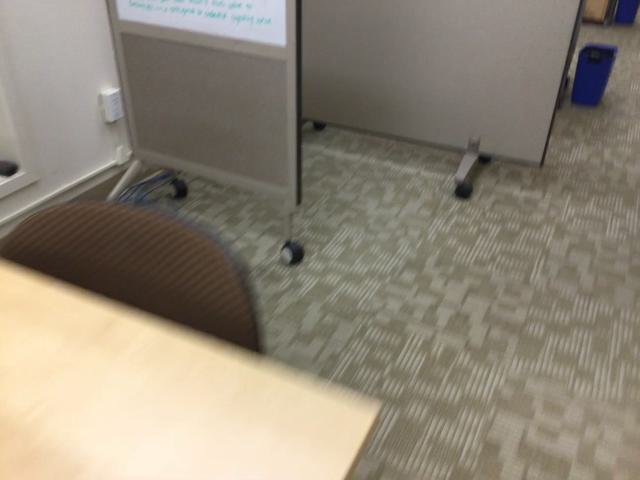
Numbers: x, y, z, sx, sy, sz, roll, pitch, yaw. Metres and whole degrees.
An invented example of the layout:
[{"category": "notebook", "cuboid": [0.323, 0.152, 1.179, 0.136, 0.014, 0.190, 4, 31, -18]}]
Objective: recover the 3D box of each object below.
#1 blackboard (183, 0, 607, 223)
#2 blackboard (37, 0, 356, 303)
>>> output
[{"category": "blackboard", "cuboid": [0.220, -0.850, 2.440, 1.710, 1.160, 0.370, 16, 38, 26]}, {"category": "blackboard", "cuboid": [-0.380, -0.590, 1.810, 0.880, 1.400, 0.400, 16, 38, 26]}]
